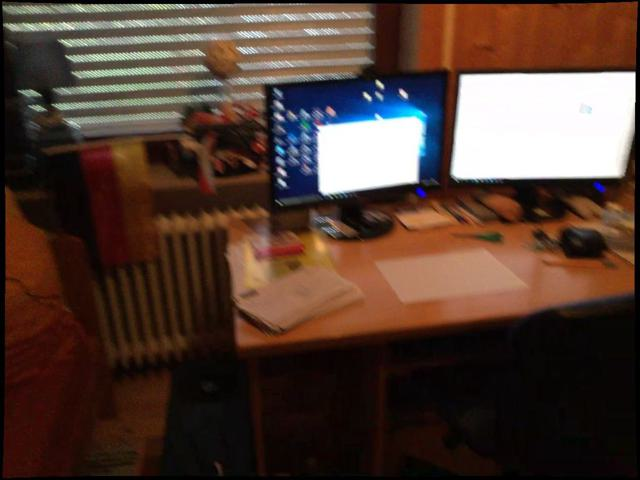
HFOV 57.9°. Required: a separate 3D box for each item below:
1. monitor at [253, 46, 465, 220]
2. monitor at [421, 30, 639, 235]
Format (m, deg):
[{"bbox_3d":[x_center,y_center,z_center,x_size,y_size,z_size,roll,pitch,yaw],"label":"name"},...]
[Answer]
[{"bbox_3d":[0.100,-0.280,1.540,0.510,0.400,0.140,-4,24,-25],"label":"monitor"},{"bbox_3d":[0.619,-0.300,1.650,0.589,0.440,0.220,-8,26,8],"label":"monitor"}]
